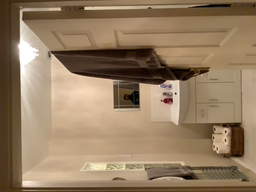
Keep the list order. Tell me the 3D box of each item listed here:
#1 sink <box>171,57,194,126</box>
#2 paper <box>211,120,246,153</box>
[{"bbox_3d":[0.750,-0.060,2.950,0.500,0.190,0.870,-64,-27,-89],"label":"sink"},{"bbox_3d":[1.380,0.550,2.930,0.260,0.350,0.400,75,-165,-88],"label":"paper"}]
